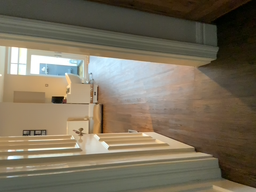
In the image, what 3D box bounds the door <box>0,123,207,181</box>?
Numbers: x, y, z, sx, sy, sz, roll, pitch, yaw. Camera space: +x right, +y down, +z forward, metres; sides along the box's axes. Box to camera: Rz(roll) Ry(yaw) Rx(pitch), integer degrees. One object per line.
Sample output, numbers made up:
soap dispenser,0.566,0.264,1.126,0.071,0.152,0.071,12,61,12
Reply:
door,-0.500,0.430,1.980,1.100,2.130,0.170,-175,88,-68
